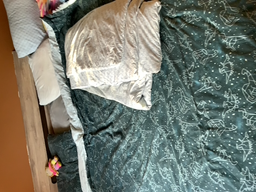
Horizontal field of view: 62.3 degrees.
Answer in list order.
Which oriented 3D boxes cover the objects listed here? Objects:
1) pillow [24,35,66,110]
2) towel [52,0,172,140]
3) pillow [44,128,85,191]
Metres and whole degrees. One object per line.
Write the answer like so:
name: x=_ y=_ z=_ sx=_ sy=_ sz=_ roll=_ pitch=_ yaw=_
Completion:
pillow: x=-0.880 y=-0.220 z=2.190 sx=0.510 sy=0.170 sz=0.600 roll=-27 pitch=75 yaw=49
towel: x=-0.240 y=-0.300 z=1.440 sx=1.160 sy=0.130 sz=0.770 roll=21 pitch=111 yaw=47
pillow: x=-0.630 y=0.700 z=2.070 sx=0.460 sy=0.130 sz=0.700 roll=-24 pitch=77 yaw=49
